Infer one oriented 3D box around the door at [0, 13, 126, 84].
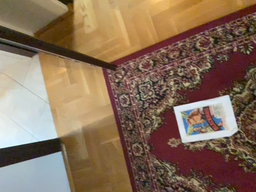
[{"bbox_3d":[-0.780,-0.310,0.610,0.730,2.150,0.130,21,96,23],"label":"door"}]
